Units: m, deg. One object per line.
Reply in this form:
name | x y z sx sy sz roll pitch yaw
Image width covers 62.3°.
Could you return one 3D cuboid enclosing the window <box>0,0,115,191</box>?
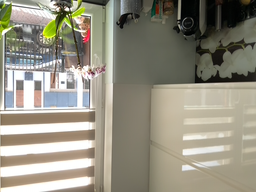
window | -0.850 0.050 1.230 1.560 1.440 0.140 0 -178 -23
